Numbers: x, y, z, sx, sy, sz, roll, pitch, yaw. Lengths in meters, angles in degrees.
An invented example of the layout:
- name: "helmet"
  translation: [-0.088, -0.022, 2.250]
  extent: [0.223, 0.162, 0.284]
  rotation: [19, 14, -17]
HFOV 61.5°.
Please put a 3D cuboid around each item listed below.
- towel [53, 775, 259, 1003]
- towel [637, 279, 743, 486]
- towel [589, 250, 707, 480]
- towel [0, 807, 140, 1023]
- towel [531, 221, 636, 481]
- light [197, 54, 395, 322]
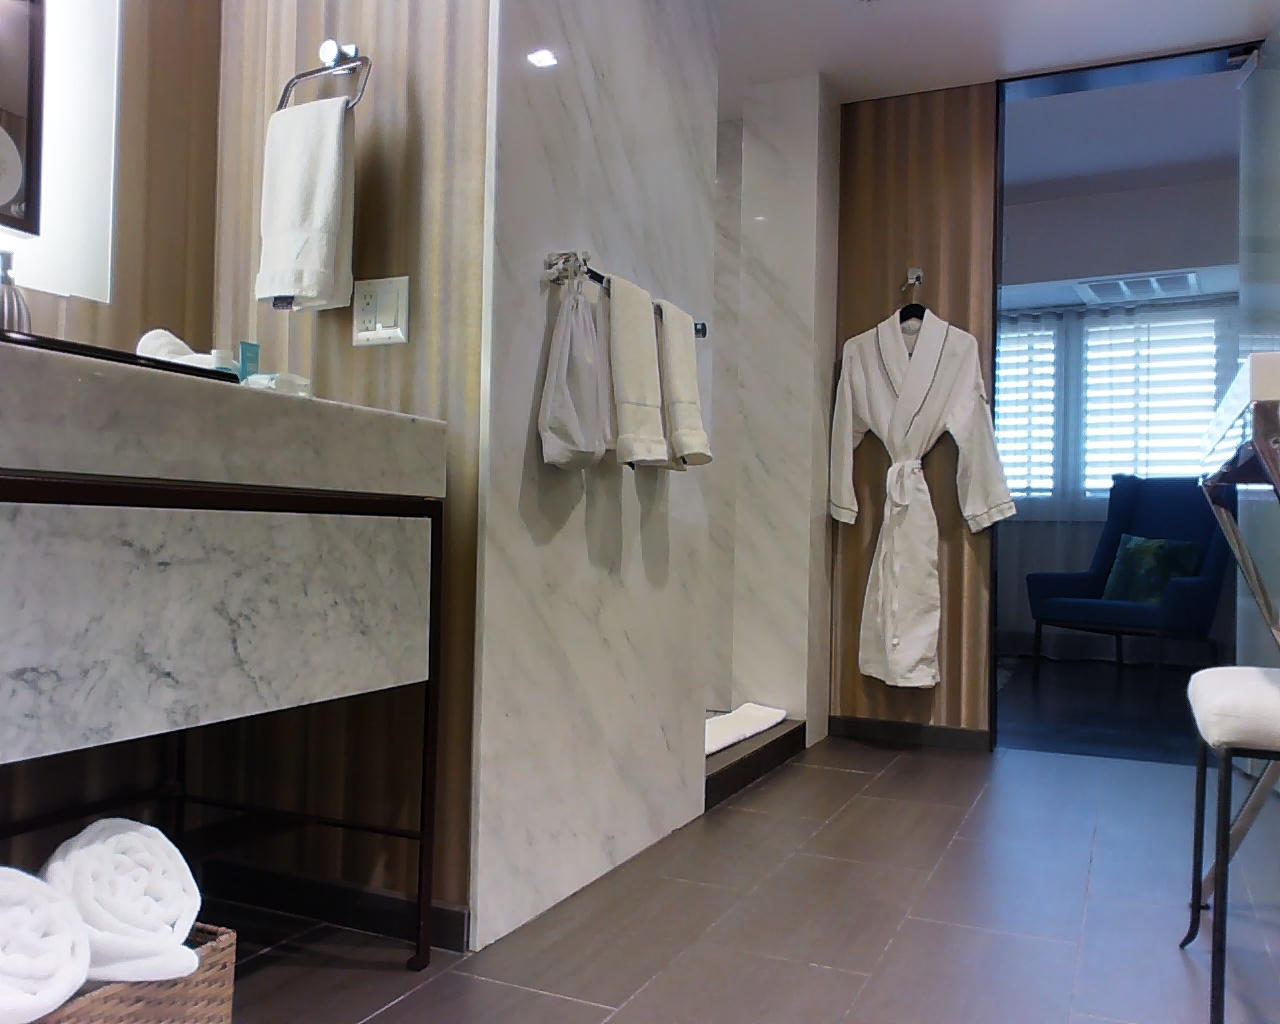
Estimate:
- name: "towel"
  translation: [-0.550, 0.420, 1.230]
  extent: [0.150, 0.190, 0.150]
  rotation: [1, -1, 27]
- name: "towel"
  translation: [0.110, -0.270, 2.330]
  extent: [0.170, 0.420, 0.170]
  rotation: [1, -1, 25]
- name: "towel"
  translation: [0.020, -0.280, 2.150]
  extent: [0.140, 0.420, 0.240]
  rotation: [1, -1, 25]
- name: "towel"
  translation: [-0.630, 0.410, 1.070]
  extent: [0.130, 0.170, 0.200]
  rotation: [1, -1, 25]
- name: "towel"
  translation: [-0.100, -0.280, 1.960]
  extent: [0.100, 0.440, 0.200]
  rotation: [1, -1, 25]
- name: "light"
  translation: [-0.600, -0.550, 1.880]
  extent: [0.300, 0.390, 0.150]
  rotation: [1, -1, 25]
